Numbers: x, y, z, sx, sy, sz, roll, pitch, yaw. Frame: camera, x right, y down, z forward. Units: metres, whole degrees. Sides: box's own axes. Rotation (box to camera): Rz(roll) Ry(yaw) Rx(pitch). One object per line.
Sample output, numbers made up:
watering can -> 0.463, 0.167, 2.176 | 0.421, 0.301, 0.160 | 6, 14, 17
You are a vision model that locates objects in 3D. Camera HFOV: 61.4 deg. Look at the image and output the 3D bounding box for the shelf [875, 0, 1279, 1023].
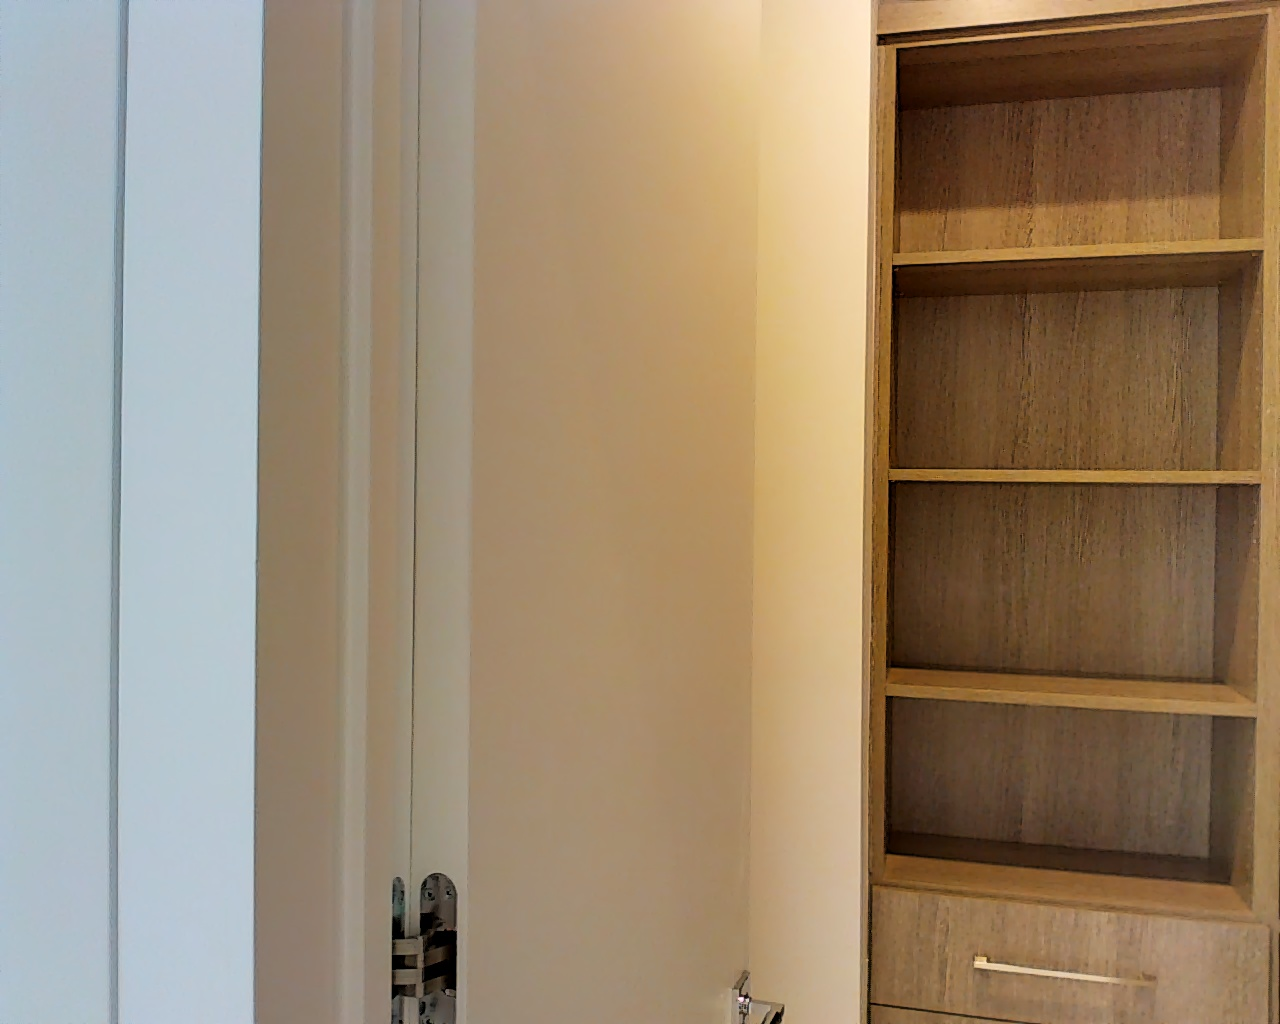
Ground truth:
shelf -> 1.040, 0.320, 1.870 | 1.210, 2.460, 0.430 | 0, 0, 16
